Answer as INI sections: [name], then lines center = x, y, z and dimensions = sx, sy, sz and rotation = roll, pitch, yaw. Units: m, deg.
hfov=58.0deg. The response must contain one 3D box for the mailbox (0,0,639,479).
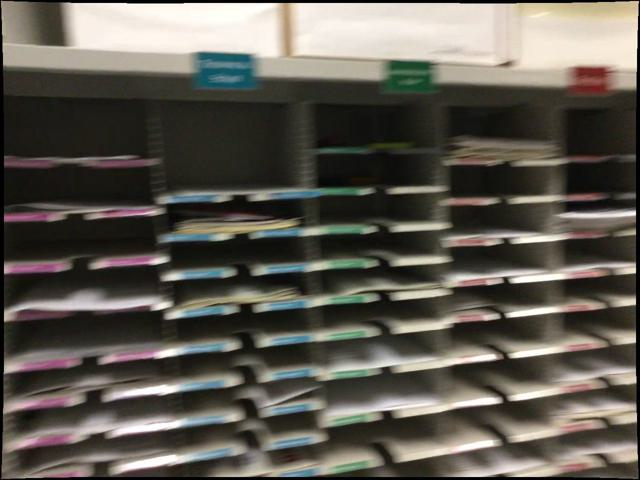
[mailbox]
center = 0.090, 0.231, 1.130
dimensions = 1.846, 1.343, 0.790
rotation = -6, 14, -18
